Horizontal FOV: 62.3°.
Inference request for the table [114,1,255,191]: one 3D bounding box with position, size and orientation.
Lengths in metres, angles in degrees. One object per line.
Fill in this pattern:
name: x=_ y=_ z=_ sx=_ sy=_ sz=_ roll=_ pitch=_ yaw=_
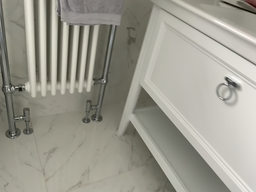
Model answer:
table: x=0.430 y=0.170 z=0.900 sx=0.510 sy=0.760 sz=0.950 roll=-7 pitch=41 yaw=-29
